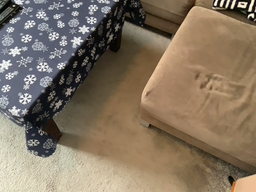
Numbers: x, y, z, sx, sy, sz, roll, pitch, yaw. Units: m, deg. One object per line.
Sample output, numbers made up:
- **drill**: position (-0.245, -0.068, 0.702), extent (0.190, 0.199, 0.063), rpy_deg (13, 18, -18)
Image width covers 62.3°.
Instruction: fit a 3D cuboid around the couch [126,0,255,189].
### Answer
- **couch**: position (0.600, -0.140, 0.980), extent (0.940, 1.020, 0.720), rpy_deg (25, 63, 9)
